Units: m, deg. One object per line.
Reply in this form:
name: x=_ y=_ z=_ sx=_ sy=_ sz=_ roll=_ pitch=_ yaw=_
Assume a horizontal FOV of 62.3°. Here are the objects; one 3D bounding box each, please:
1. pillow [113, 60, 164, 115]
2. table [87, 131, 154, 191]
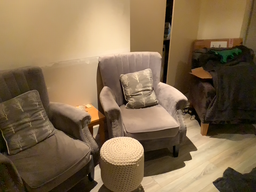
pillow: x=0.110 y=-0.080 z=2.100 sx=0.340 sy=0.380 sz=0.190 roll=-34 pitch=37 yaw=-4
table: x=-0.060 y=0.580 z=1.670 sx=0.370 sy=0.390 sz=0.360 roll=-16 pitch=29 yaw=-31
